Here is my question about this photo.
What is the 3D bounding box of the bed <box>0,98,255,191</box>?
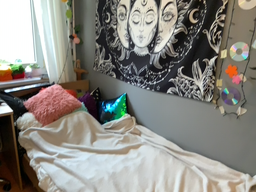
[{"bbox_3d":[-0.210,0.630,1.780,1.010,0.500,2.160,-14,25,-42],"label":"bed"}]

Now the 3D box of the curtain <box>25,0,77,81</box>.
[{"bbox_3d":[-0.810,-0.970,2.200,0.370,1.550,0.370,-14,25,-42],"label":"curtain"}]
